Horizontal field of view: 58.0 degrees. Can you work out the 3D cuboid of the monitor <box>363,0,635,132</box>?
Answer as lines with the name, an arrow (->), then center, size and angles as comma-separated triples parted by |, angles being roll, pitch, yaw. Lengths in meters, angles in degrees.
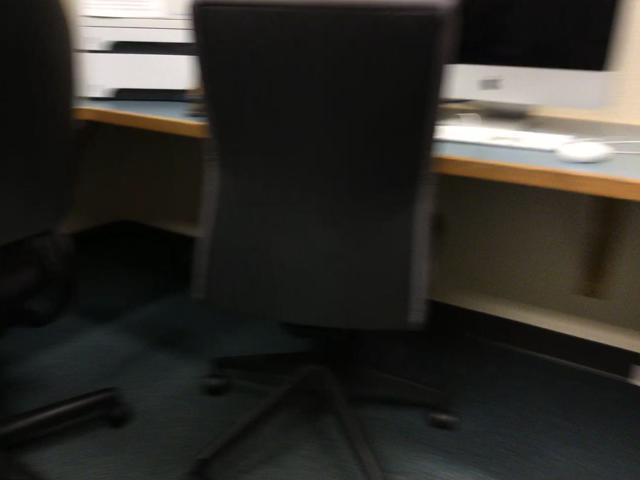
monitor -> 0.430, -0.540, 1.410 | 0.570, 0.480, 0.220 | 13, 18, 30
